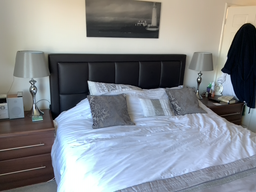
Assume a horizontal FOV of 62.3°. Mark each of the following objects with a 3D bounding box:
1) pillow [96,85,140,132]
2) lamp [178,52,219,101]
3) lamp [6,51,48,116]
[{"bbox_3d":[-0.120,0.120,2.250,0.340,0.170,0.490,1,48,-21],"label":"pillow"},{"bbox_3d":[1.080,-0.310,3.280,0.380,0.690,0.340,-5,18,-23],"label":"lamp"},{"bbox_3d":[-1.050,-0.150,2.240,0.330,0.610,0.340,-5,18,-24],"label":"lamp"}]
